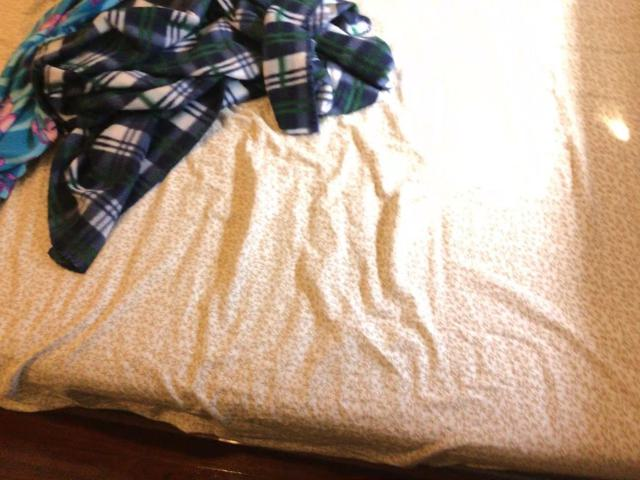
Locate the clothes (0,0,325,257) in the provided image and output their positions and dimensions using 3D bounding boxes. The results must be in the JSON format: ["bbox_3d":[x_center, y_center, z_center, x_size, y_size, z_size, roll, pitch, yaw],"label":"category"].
[{"bbox_3d":[-0.230,-0.480,0.990,0.480,0.120,1.050,5,60,6],"label":"clothes"}]

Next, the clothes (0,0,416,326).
[{"bbox_3d":[-0.150,-0.220,0.840,0.550,0.120,0.630,5,60,6],"label":"clothes"}]
